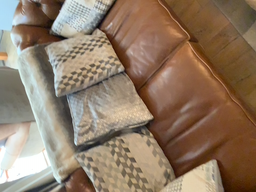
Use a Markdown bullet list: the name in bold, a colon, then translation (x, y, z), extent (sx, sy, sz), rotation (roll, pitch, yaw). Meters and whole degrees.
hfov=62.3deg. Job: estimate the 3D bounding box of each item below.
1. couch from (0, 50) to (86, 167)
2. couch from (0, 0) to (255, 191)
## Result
- **couch**: translation (-1.190, 0.120, 2.190), extent (0.820, 1.000, 0.820), rotation (54, 126, 25)
- **couch**: translation (0.030, 0.000, 1.210), extent (0.900, 0.780, 1.840), rotation (-45, 64, 35)
